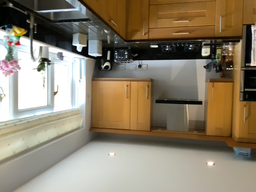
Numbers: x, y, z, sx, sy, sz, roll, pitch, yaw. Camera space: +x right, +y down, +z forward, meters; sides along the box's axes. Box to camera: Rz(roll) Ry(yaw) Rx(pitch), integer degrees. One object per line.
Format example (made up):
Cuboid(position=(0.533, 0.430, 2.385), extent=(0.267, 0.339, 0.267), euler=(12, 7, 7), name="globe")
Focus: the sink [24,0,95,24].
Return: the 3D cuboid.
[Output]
Cuboid(position=(-0.540, -0.780, 1.730), extent=(0.440, 0.260, 0.350), euler=(2, -177, 14), name="sink")
